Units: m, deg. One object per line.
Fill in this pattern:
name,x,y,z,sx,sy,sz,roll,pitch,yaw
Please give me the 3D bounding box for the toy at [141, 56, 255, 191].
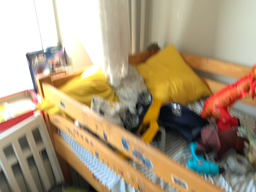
toy,0.470,0.060,1.000,0.600,0.280,0.540,-24,35,-38
